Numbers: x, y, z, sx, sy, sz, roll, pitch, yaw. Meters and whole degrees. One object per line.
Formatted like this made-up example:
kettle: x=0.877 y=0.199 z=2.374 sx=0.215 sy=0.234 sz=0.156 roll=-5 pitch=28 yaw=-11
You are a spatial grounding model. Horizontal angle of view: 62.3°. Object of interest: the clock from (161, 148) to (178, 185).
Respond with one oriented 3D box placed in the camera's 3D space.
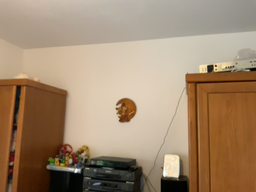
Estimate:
clock: x=0.360 y=0.600 z=1.830 sx=0.120 sy=0.260 sz=0.220 roll=-1 pitch=-8 yaw=18
